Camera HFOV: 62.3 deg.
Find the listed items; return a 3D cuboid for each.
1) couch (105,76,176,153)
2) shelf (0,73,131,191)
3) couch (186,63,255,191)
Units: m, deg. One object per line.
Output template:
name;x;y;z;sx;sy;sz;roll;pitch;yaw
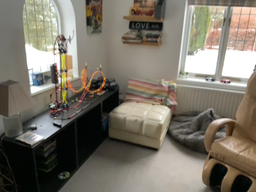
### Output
couch;0.230;0.190;3.210;0.740;0.680;1.100;9;21;19
shelf;-0.610;0.290;2.870;0.570;0.650;2.370;8;20;17
couch;1.300;0.340;2.160;1.150;1.130;0.730;-15;26;-40
